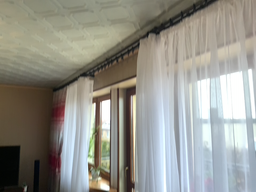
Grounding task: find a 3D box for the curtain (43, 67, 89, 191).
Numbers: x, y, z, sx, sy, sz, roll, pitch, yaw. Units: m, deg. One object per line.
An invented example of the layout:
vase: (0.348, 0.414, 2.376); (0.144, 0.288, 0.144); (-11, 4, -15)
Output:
curtain: (-1.230, 1.080, 3.920); (0.240, 2.730, 2.270); (4, -9, -29)
